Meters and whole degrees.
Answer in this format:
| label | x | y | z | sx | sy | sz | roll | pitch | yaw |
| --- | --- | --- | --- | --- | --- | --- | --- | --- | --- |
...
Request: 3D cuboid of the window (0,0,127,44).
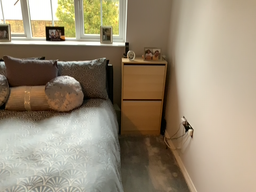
| label | x | y | z | sx | sy | sz | roll | pitch | yaw |
| --- | --- | --- | --- | --- | --- | --- | --- | --- | --- |
| window | -0.880 | -1.080 | 2.460 | 1.740 | 0.830 | 0.110 | 2 | 22 | -1 |
